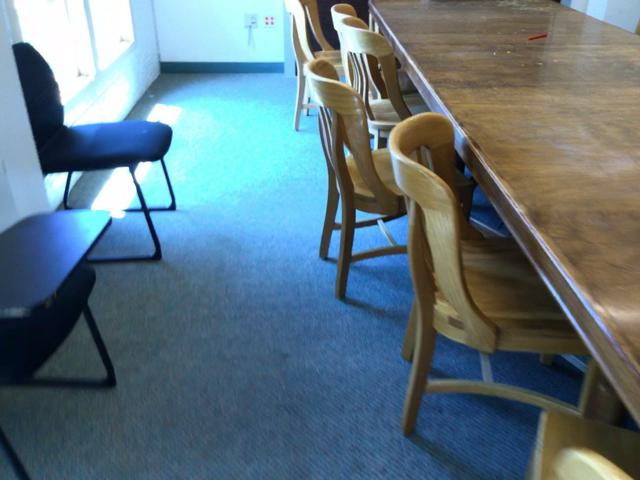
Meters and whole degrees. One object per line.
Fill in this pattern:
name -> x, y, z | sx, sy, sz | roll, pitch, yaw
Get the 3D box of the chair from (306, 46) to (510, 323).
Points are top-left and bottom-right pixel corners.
chair -> 0.260, -0.230, 2.150 | 0.580, 0.810, 0.650 | -3, 29, -1

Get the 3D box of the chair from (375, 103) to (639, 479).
chair -> 0.420, 0.120, 1.540 | 0.470, 0.810, 0.560 | -3, 29, -1

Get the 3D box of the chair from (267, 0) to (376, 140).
chair -> 0.010, -1.170, 3.750 | 0.620, 0.860, 0.590 | -3, 29, -1
